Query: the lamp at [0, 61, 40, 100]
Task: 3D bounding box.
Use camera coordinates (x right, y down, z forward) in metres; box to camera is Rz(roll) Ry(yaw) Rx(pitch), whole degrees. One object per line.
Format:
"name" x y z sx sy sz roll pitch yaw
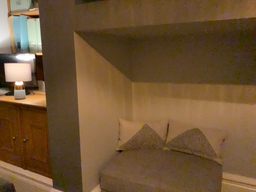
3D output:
"lamp" -0.900 -0.140 1.770 0.180 0.300 0.230 5 11 25
